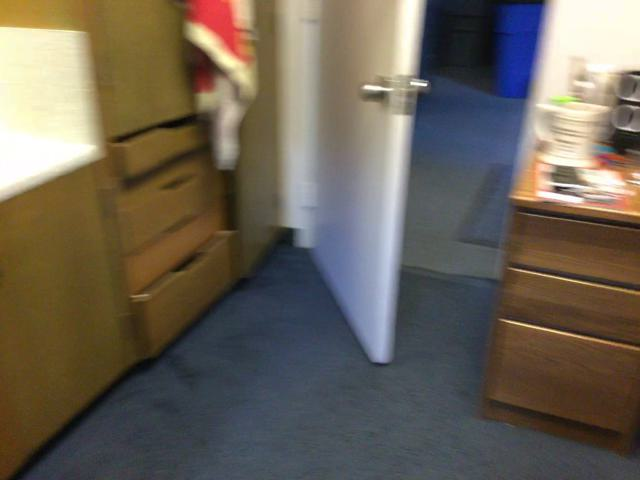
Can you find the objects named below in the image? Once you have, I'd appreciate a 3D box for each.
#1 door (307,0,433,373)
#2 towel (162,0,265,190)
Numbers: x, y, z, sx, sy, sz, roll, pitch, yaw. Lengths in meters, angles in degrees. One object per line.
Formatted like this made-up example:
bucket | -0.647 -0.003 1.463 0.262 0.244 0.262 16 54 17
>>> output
door | 0.120 -0.660 1.870 0.140 2.090 0.790 -6 27 -13
towel | -0.320 -0.790 1.690 0.160 1.250 0.280 11 28 20
